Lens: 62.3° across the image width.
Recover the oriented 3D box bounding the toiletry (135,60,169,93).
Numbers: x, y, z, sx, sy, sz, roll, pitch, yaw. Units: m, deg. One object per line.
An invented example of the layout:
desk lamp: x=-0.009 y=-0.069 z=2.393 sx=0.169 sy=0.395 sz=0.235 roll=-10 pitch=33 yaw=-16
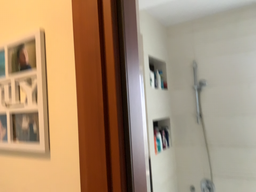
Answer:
toiletry: x=0.280 y=-0.200 z=2.380 sx=0.160 sy=0.310 sz=0.470 roll=-6 pitch=-4 yaw=34
